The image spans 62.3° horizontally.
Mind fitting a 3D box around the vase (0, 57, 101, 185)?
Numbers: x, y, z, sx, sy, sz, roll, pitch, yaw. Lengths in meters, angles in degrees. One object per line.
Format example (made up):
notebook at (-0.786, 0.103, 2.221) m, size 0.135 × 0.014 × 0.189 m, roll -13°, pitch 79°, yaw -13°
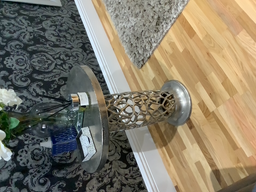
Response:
vase at (-0.480, 0.100, 0.890) m, size 0.410 × 0.560 × 0.320 m, roll 65°, pitch 144°, yaw 28°
